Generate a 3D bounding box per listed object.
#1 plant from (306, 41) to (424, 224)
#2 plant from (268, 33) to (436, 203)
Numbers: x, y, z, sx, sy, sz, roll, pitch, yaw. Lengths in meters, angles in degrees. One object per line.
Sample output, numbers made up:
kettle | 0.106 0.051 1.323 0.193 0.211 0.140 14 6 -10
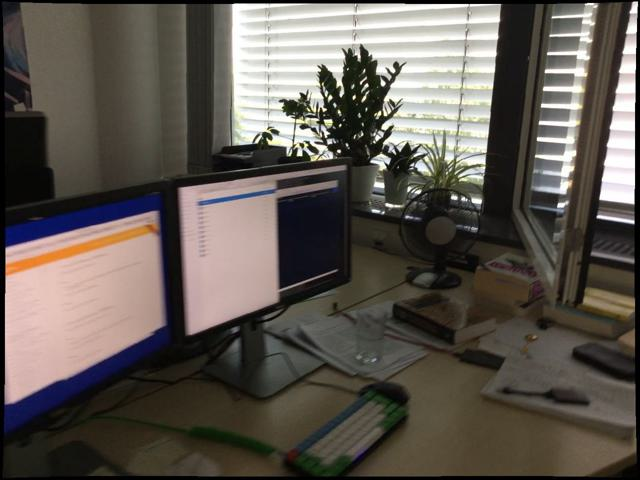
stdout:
plant | 0.200 -0.501 2.620 0.370 0.741 0.360 14 22 39
plant | 0.150 -0.601 2.750 0.600 0.691 0.480 14 22 39
